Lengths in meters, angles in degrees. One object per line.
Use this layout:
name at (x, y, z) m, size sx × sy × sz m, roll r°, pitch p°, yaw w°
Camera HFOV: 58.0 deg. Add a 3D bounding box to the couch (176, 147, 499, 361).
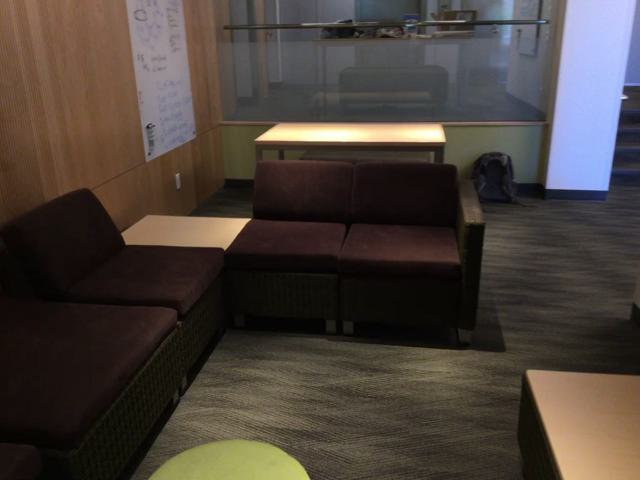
couch at (0.100, 0.020, 2.990) m, size 1.410 × 0.770 × 0.750 m, roll 4°, pitch 22°, yaw 8°
